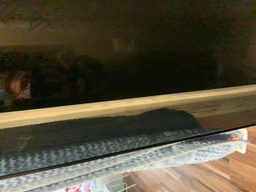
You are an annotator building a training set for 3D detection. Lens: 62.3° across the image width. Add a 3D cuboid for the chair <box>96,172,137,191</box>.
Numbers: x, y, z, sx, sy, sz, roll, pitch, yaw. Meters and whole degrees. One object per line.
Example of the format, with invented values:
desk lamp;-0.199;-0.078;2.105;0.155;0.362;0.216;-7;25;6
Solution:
chair;-0.220;1.820;4.030;0.410;0.670;0.450;-162;69;-65
